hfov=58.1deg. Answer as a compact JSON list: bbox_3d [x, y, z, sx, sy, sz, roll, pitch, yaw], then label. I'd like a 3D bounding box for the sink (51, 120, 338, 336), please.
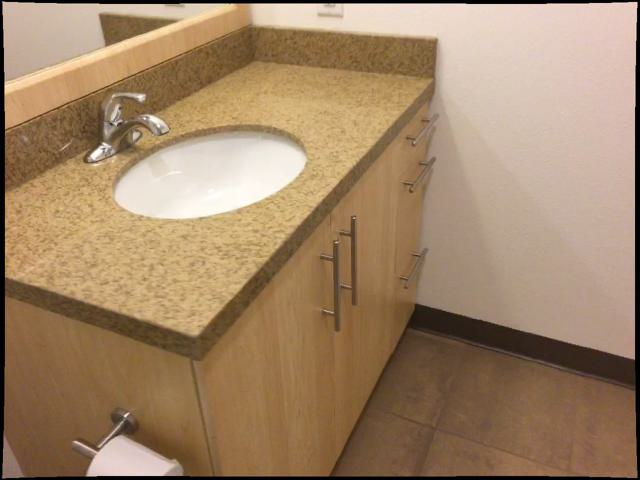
[{"bbox_3d":[-0.219,-0.060,1.180,0.359,0.180,0.450,12,36,22],"label":"sink"}]

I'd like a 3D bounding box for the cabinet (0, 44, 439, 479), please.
[{"bbox_3d":[-0.170,0.130,1.450,0.599,0.912,1.090,12,36,22],"label":"cabinet"}]
